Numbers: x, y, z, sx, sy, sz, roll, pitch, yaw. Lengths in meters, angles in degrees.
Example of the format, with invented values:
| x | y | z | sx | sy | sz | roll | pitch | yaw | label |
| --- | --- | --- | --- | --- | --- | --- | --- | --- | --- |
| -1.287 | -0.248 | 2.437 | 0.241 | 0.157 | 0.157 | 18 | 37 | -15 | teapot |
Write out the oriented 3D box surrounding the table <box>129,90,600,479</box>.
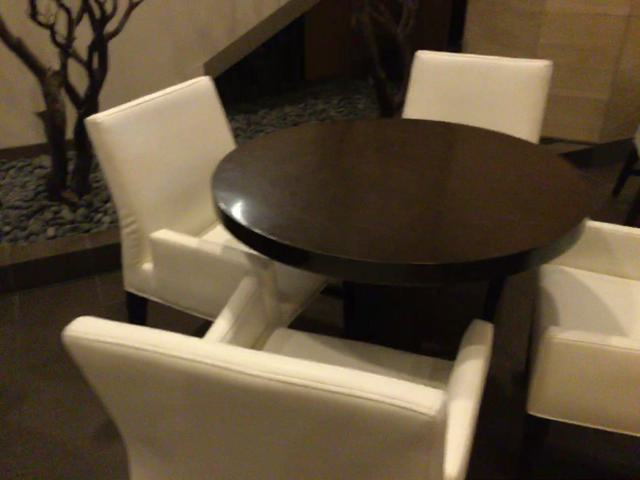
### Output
| x | y | z | sx | sy | sz | roll | pitch | yaw | label |
| --- | --- | --- | --- | --- | --- | --- | --- | --- | --- |
| 0.220 | 0.140 | 1.620 | 0.890 | 0.820 | 0.910 | 8 | 35 | 23 | table |

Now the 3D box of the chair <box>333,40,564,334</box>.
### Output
| x | y | z | sx | sy | sz | roll | pitch | yaw | label |
| --- | --- | --- | --- | --- | --- | --- | --- | --- | --- |
| 0.500 | -0.240 | 2.140 | 0.610 | 0.800 | 0.700 | 8 | 35 | 23 | chair |

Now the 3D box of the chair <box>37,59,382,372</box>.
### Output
| x | y | z | sx | sy | sz | roll | pitch | yaw | label |
| --- | --- | --- | --- | --- | --- | --- | --- | --- | --- |
| -0.250 | -0.130 | 1.750 | 0.670 | 0.640 | 0.650 | 8 | 35 | 23 | chair |

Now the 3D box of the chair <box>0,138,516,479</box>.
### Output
| x | y | z | sx | sy | sz | roll | pitch | yaw | label |
| --- | --- | --- | --- | --- | --- | --- | --- | --- | --- |
| -0.070 | 0.360 | 1.140 | 0.720 | 0.870 | 0.680 | 8 | 35 | 23 | chair |

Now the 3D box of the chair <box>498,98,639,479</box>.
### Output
| x | y | z | sx | sy | sz | roll | pitch | yaw | label |
| --- | --- | --- | --- | --- | --- | --- | --- | --- | --- |
| 0.870 | 0.160 | 1.370 | 0.720 | 0.770 | 0.660 | 8 | 35 | 23 | chair |
